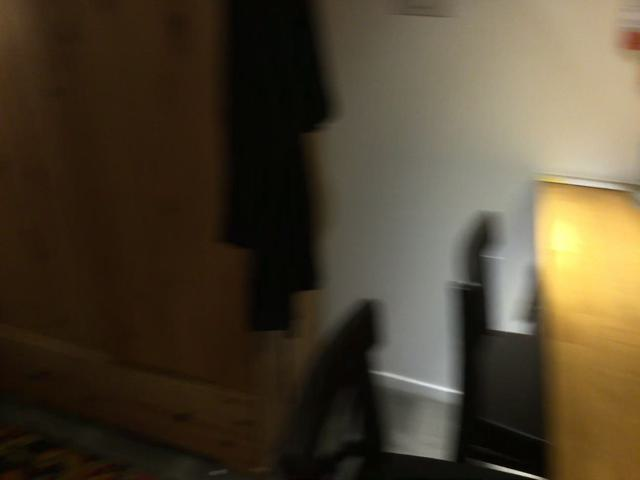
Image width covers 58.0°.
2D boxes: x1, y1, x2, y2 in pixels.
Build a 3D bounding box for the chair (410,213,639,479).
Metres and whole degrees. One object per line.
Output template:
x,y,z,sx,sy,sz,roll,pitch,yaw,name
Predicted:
0.480,0.450,1.330,0.450,0.840,0.490,12,26,17,chair
